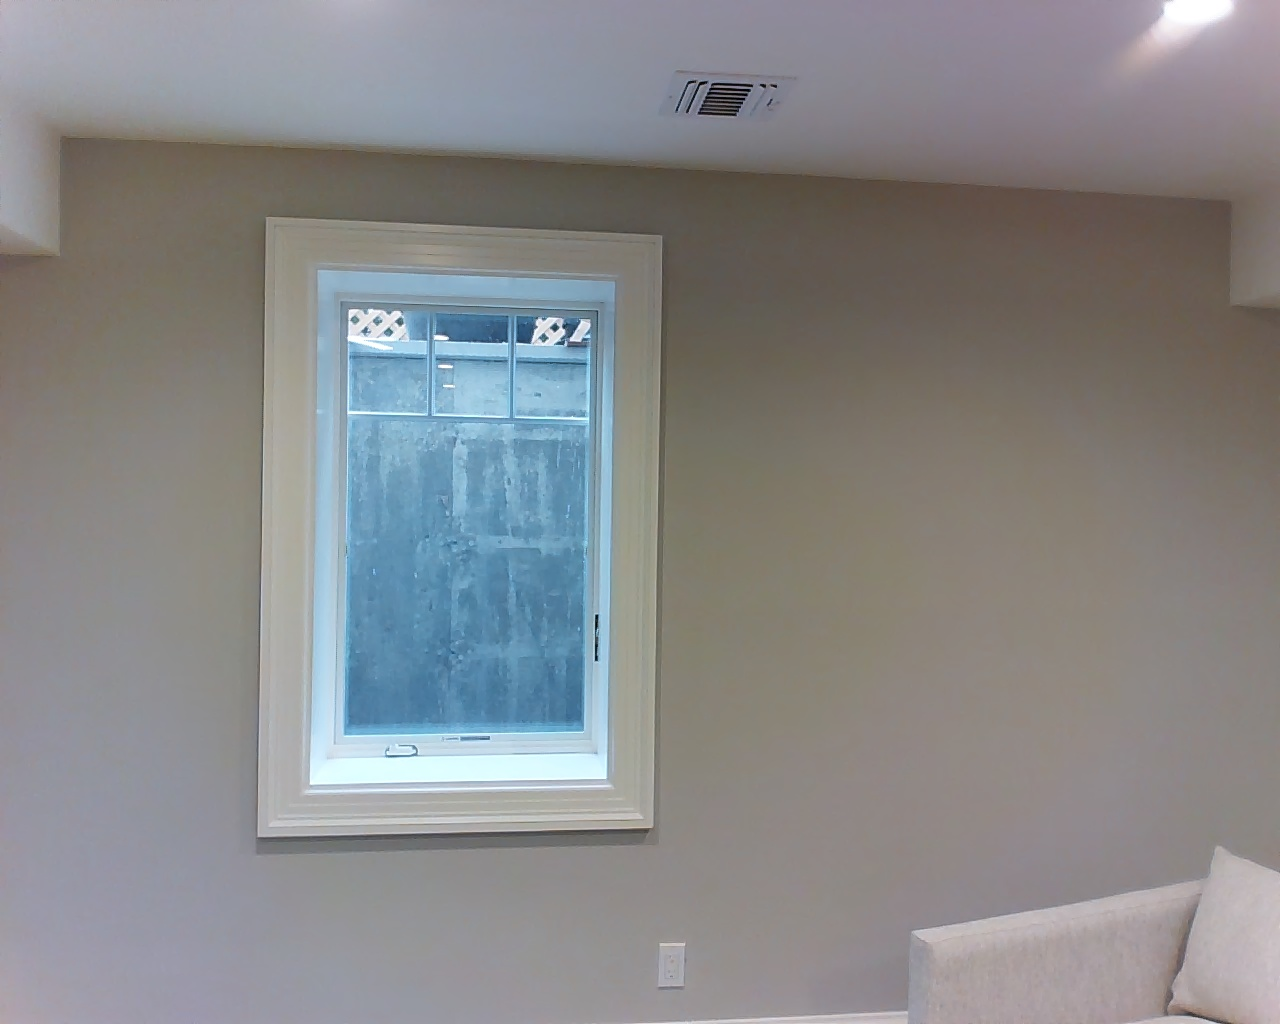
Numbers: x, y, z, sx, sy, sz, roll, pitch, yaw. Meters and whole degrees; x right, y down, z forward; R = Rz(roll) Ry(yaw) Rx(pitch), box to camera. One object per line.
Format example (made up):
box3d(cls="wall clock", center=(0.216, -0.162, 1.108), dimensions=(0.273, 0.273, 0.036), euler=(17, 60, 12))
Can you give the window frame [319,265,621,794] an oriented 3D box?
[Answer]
box3d(cls="window frame", center=(-0.450, 0.050, 2.920), dimensions=(0.740, 1.330, 0.340), euler=(1, 0, -7))
